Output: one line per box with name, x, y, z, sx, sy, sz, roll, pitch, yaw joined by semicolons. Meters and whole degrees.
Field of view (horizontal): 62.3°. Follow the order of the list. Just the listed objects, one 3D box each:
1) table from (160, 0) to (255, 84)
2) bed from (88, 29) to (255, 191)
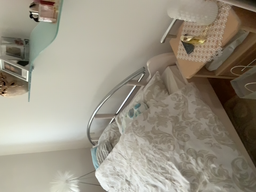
table;0.590;-0.380;1.300;0.440;0.530;0.420;-54;43;49
bed;0.330;0.970;1.740;1.830;0.560;2.250;-56;42;48
